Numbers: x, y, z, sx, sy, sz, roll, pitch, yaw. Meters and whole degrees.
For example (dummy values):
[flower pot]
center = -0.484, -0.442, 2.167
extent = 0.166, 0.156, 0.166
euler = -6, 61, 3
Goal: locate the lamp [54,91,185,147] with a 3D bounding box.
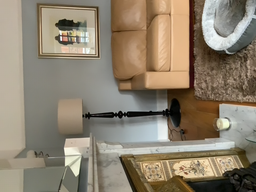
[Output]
[lamp]
center = -0.100, 0.260, 2.810
extent = 0.490, 1.580, 0.560
euler = -137, 46, -76

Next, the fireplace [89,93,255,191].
[fireplace]
center = 0.380, 0.350, 1.150
extent = 1.350, 1.140, 0.680
euler = -171, 79, -80
